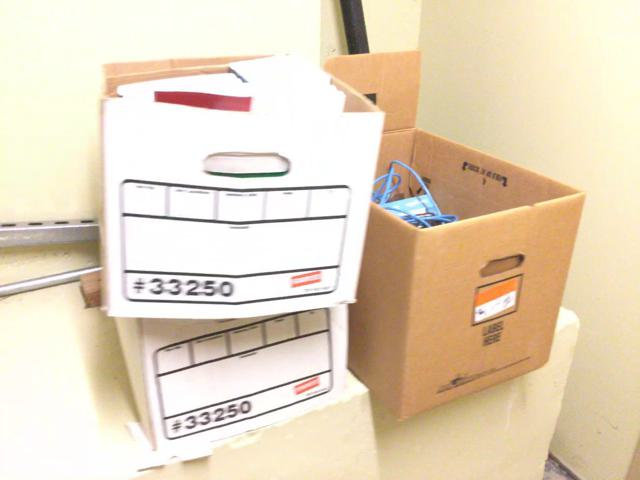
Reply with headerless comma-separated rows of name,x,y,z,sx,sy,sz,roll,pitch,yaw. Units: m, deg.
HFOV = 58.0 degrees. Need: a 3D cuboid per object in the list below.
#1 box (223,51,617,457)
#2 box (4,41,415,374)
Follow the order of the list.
box,0.120,-0.040,1.010,0.400,0.490,0.490,-12,27,-25
box,-0.140,-0.100,0.810,0.380,0.290,0.470,-6,25,-11
